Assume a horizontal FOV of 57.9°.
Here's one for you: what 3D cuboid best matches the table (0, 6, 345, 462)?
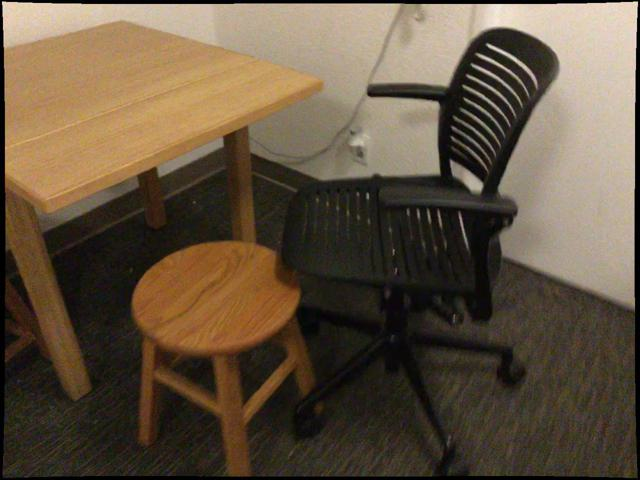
[{"bbox_3d":[-0.549,-0.120,1.680,0.950,0.760,0.800,24,44,30],"label":"table"}]
